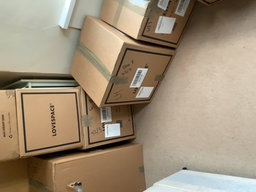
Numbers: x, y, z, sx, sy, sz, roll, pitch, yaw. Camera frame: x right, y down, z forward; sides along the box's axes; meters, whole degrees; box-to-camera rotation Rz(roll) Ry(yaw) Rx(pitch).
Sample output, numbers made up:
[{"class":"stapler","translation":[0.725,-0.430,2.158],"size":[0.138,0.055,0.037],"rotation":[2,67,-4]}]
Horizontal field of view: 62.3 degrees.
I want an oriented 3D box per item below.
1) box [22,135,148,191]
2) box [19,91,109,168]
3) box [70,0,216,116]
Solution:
[{"class":"box","translation":[-0.330,0.630,1.730],"size":[0.590,0.800,0.440],"rotation":[-3,89,45]},{"class":"box","translation":[-0.500,0.210,1.660],"size":[0.480,0.490,0.470],"rotation":[-2,90,45]},{"class":"box","translation":[0.050,-0.370,1.480],"size":[0.470,0.500,0.890],"rotation":[49,124,32]}]
